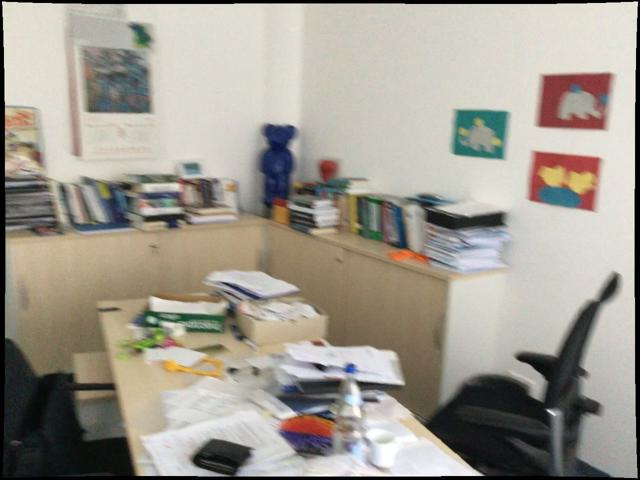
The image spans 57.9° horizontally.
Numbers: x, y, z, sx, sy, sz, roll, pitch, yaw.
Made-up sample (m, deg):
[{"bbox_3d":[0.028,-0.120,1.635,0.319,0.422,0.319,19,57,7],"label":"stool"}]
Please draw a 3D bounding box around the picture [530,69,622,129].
[{"bbox_3d":[1.109,-0.621,2.530,0.100,0.240,0.330,-9,18,-38],"label":"picture"}]

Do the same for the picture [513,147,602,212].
[{"bbox_3d":[1.059,-0.280,2.600,0.090,0.240,0.340,-9,18,-38],"label":"picture"}]

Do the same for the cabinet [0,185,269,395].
[{"bbox_3d":[-1.129,0.210,3.580,1.579,0.941,0.510,-8,18,-36],"label":"cabinet"}]

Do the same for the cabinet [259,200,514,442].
[{"bbox_3d":[0.260,0.340,3.380,0.440,0.861,1.599,-9,18,-37],"label":"cabinet"}]
